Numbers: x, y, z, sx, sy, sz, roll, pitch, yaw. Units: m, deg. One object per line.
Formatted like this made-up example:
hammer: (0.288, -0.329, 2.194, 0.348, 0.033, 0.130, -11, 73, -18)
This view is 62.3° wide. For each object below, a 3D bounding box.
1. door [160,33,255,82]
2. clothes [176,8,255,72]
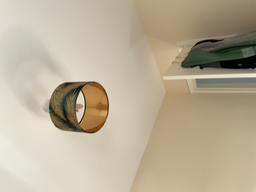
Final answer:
door: (1.370, -0.380, 1.810, 0.770, 2.060, 0.100, -54, -45, -44)
clothes: (1.120, -0.530, 1.870, 0.700, 1.190, 0.270, -55, -45, -43)
